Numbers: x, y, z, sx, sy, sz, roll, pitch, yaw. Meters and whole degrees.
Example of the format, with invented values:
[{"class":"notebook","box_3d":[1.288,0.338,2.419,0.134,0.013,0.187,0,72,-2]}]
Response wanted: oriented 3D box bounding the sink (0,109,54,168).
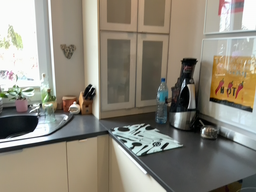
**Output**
[{"class":"sink","box_3d":[-0.790,0.270,1.480,0.450,0.180,0.530,-5,14,-25]}]
